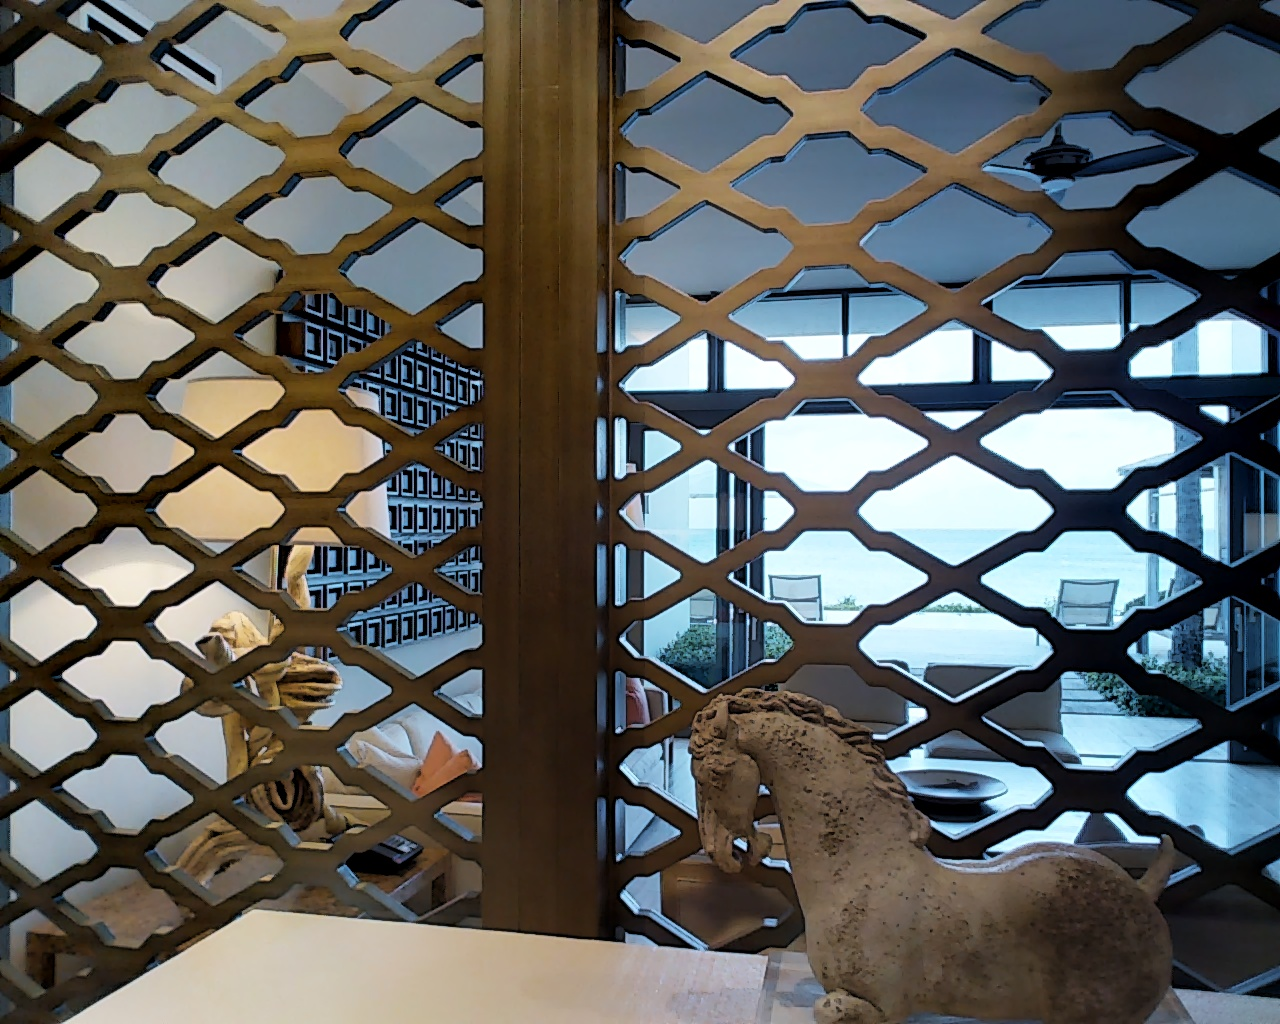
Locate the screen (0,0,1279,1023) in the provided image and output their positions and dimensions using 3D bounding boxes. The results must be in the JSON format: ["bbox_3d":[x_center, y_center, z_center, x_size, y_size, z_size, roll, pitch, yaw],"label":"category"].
[{"bbox_3d":[0.400,-0.190,1.390,3.330,3.140,0.220,0,0,13],"label":"screen"}]
